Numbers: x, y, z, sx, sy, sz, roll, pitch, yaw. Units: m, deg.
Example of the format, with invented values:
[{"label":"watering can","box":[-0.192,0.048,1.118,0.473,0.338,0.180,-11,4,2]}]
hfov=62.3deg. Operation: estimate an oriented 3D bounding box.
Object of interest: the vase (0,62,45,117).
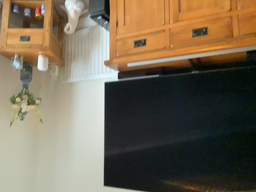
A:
[{"label":"vase","box":[-1.160,-0.060,2.350,0.350,0.570,0.250,1,172,-4]}]

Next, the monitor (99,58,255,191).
[{"label":"monitor","box":[0.450,0.230,1.400,1.450,0.880,0.060,-3,172,25]}]

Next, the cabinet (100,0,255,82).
[{"label":"cabinet","box":[0.530,-0.610,1.590,1.370,0.830,0.540,-3,172,23]}]
